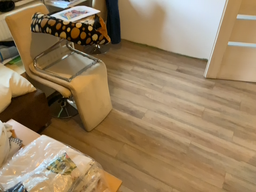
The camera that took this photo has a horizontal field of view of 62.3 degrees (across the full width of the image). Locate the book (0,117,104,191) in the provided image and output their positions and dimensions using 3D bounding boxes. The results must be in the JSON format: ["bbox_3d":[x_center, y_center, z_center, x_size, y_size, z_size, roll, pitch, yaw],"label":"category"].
[{"bbox_3d":[-0.420,0.360,1.110,0.420,0.120,0.420,21,44,21],"label":"book"}]
